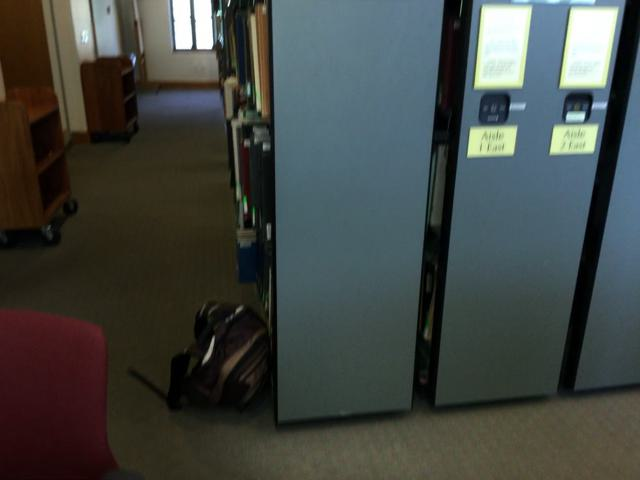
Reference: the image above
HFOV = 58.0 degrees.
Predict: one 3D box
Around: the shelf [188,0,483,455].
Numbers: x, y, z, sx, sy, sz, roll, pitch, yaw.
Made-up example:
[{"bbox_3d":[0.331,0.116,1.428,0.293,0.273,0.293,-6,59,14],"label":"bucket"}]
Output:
[{"bbox_3d":[0.000,-0.390,2.390,0.840,1.940,1.280,-5,18,-6],"label":"shelf"}]
